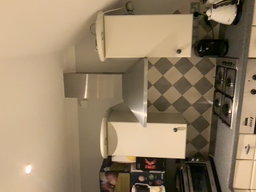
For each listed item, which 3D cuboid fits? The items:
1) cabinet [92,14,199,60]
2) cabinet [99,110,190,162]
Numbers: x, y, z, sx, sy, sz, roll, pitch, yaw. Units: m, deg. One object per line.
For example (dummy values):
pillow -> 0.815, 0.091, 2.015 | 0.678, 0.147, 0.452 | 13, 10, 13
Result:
cabinet -> 0.150, -0.540, 1.980 | 0.380, 0.880, 0.370 | -70, -19, -76
cabinet -> 0.160, 0.390, 2.200 | 0.380, 0.850, 0.380 | -70, -19, -76
